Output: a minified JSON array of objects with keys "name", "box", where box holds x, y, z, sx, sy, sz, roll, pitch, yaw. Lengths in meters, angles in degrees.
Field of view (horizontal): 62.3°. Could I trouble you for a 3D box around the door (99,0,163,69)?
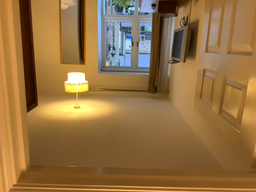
[{"name":"door","box":[0.050,-1.570,3.760,1.120,2.140,0.130,1,-167,-3]}]
